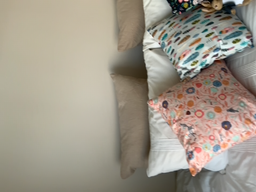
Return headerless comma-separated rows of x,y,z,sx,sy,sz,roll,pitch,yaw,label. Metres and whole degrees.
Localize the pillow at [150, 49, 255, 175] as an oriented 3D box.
0.300,0.080,0.900,0.290,0.280,0.440,138,131,-66,pillow
